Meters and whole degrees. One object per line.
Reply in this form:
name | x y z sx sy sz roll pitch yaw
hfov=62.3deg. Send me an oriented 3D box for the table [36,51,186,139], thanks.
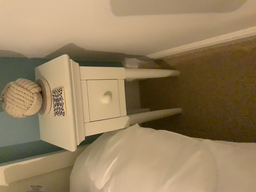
table | -0.050 -0.020 1.020 0.320 0.640 0.290 -1 93 50
